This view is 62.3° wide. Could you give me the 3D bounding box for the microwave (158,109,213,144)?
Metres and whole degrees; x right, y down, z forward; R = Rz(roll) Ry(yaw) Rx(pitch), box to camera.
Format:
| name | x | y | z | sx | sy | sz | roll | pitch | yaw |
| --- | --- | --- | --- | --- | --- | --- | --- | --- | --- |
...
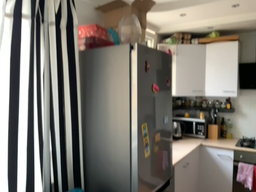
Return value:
| name | x | y | z | sx | sy | sz | roll | pitch | yaw |
| --- | --- | --- | --- | --- | --- | --- | --- | --- | --- |
| microwave | 0.880 | 0.430 | 3.230 | 0.690 | 0.390 | 0.460 | 2 | 3 | 34 |
